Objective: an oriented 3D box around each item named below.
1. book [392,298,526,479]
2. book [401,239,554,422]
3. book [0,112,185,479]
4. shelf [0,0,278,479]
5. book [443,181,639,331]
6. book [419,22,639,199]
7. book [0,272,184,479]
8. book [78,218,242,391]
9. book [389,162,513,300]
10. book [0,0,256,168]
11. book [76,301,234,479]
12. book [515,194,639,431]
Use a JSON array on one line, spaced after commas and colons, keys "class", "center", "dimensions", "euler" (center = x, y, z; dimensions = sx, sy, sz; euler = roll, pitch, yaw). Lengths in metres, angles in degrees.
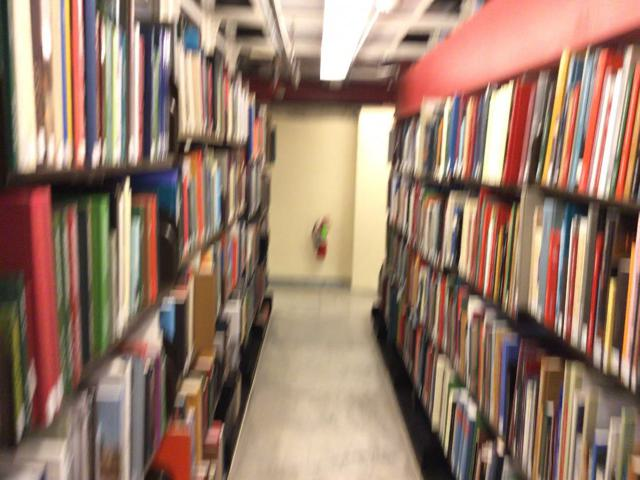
[{"class": "book", "center": [0.550, 0.660, 2.710], "dimensions": [0.150, 0.410, 1.720], "euler": [0, 7, -2]}, {"class": "book", "center": [0.630, 0.310, 2.660], "dimensions": [0.260, 0.460, 1.420], "euler": [0, 7, -2]}, {"class": "book", "center": [-0.480, 0.080, 0.650], "dimensions": [0.320, 0.430, 1.560], "euler": [0, 7, -1]}, {"class": "shelf", "center": [-0.540, 0.200, 2.410], "dimensions": [0.450, 1.830, 5.350], "euler": [0, 7, -1]}, {"class": "book", "center": [0.700, 0.000, 2.020], "dimensions": [0.310, 0.390, 0.920], "euler": [0, 7, -2]}, {"class": "book", "center": [0.680, -0.380, 2.090], "dimensions": [0.300, 0.380, 1.650], "euler": [0, 7, -2]}, {"class": "book", "center": [-0.480, 0.410, 1.100], "dimensions": [0.240, 0.550, 0.880], "euler": [0, 7, -1]}, {"class": "book", "center": [-0.520, 0.160, 2.190], "dimensions": [0.310, 0.390, 1.180], "euler": [0, 7, -1]}, {"class": "book", "center": [0.640, -0.120, 3.180], "dimensions": [0.300, 0.590, 1.430], "euler": [0, 7, -2]}, {"class": "book", "center": [-0.430, -0.440, 1.470], "dimensions": [0.230, 0.500, 3.500], "euler": [0, 7, -1]}, {"class": "book", "center": [-0.530, 0.590, 2.140], "dimensions": [0.270, 0.480, 1.140], "euler": [0, 7, -1]}, {"class": "book", "center": [0.680, 0.120, 1.160], "dimensions": [0.250, 0.390, 0.850], "euler": [0, 7, -2]}]
